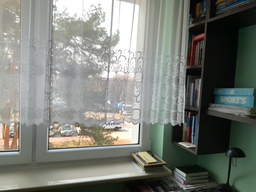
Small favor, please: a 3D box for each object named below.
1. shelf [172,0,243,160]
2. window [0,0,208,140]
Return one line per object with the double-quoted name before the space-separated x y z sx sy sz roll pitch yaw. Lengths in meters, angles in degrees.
"shelf" 0.570 -0.200 1.560 0.270 1.240 0.310 2 4 -21
"window" -0.320 -0.470 1.220 1.800 1.390 0.170 2 4 -22
